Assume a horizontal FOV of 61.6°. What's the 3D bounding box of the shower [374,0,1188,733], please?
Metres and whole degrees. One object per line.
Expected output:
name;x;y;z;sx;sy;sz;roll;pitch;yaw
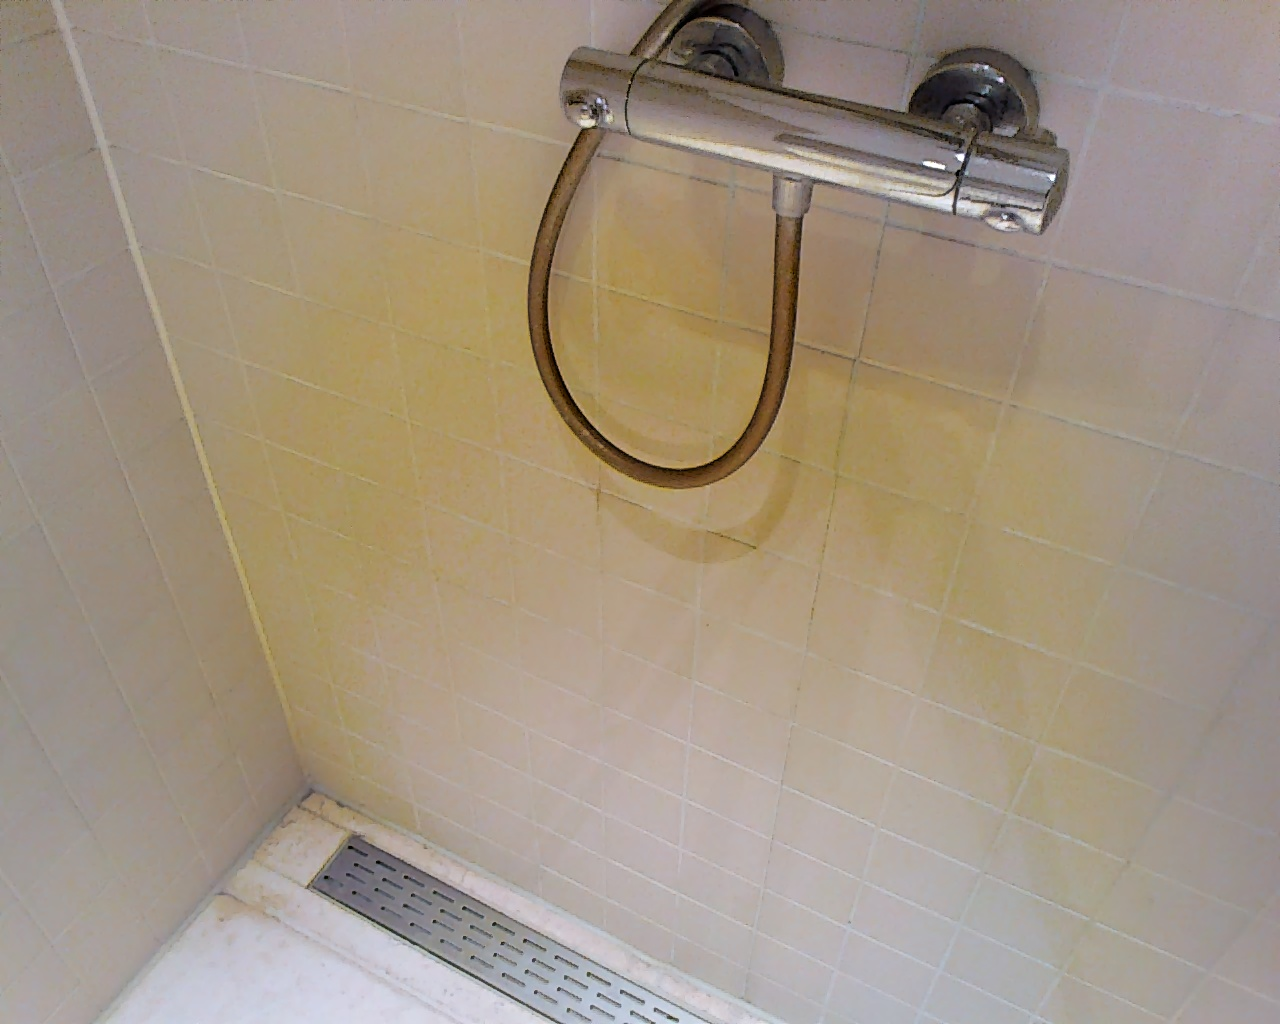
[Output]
shower;0.070;-0.540;0.310;0.400;1.600;0.130;20;45;19
